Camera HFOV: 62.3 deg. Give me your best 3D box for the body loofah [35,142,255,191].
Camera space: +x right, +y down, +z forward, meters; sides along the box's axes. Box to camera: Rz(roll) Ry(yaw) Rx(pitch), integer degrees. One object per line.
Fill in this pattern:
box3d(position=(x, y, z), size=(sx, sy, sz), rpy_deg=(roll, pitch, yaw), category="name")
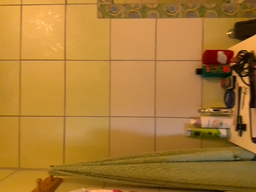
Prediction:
box3d(position=(0.250, 0.270, 0.800), size=(0.210, 1.110, 0.130), rpy_deg=(64, -153, -87), category="body loofah")
